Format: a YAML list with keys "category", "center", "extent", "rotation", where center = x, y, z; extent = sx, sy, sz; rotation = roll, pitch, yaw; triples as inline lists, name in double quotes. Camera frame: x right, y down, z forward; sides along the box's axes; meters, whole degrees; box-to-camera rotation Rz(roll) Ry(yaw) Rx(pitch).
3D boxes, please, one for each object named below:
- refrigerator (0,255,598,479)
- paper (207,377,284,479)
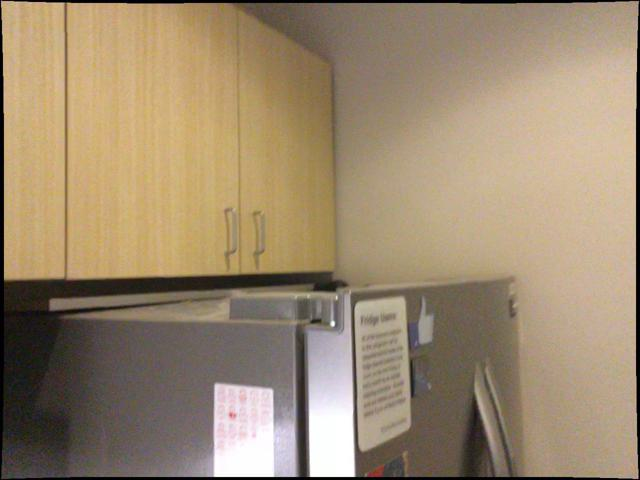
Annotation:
- category: "refrigerator"
  center: [-0.010, 0.932, 1.200]
  extent: [0.958, 1.744, 0.949]
  rotation: [-2, 1, 34]
- category: "paper"
  center: [-0.100, 0.281, 0.770]
  extent: [0.110, 0.180, 0.020]
  rotation: [-2, 1, 33]
